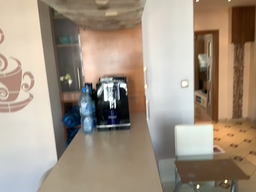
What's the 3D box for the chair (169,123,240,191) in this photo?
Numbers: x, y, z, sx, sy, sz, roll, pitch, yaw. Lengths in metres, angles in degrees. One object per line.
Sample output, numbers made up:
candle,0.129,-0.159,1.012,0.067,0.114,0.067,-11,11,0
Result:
chair,0.580,0.770,1.740,0.370,0.960,0.540,-3,10,2
